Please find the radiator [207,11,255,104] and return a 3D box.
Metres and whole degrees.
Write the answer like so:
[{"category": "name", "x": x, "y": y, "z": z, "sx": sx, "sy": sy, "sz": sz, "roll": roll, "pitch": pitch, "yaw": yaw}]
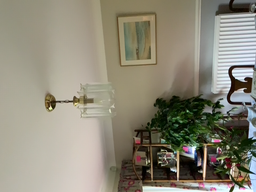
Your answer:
[{"category": "radiator", "x": 1.480, "y": -0.470, "z": 2.750, "sx": 0.100, "sy": 0.780, "sz": 1.160, "roll": -78, "pitch": -14, "yaw": -71}]
